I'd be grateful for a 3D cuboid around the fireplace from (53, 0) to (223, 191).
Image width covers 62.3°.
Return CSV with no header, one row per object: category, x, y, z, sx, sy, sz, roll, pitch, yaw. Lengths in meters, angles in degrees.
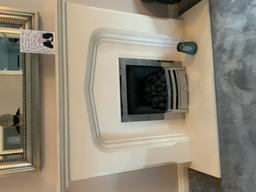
fireplace,0.040,-0.040,1.620,0.580,1.110,1.390,169,100,-66
